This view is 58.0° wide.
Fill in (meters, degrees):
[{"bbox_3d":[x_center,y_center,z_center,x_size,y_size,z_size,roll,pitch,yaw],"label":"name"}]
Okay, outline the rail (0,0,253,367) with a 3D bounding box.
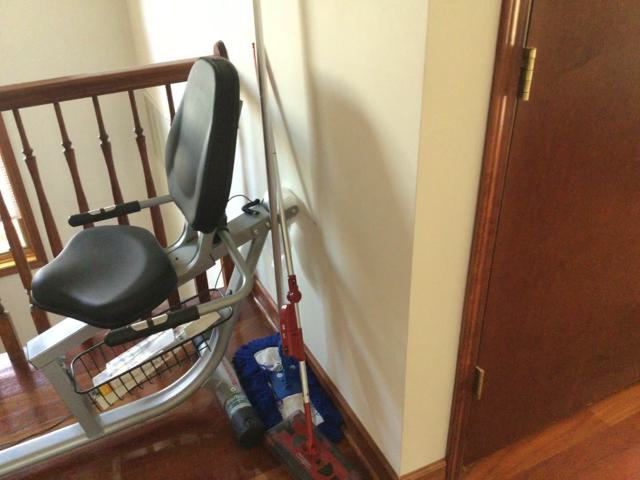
[{"bbox_3d":[-1.120,-0.060,1.730,1.770,1.060,0.170,-17,36,-20],"label":"rail"}]
